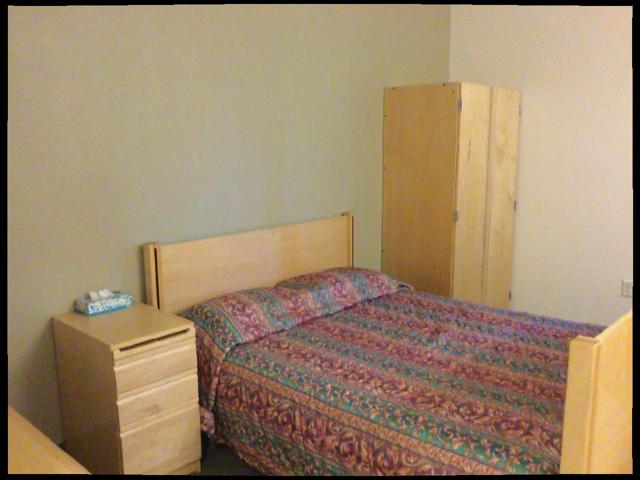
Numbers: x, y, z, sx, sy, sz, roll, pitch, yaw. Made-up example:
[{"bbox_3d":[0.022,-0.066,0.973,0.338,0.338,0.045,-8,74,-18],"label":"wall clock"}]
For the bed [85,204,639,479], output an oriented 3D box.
[{"bbox_3d":[0.399,0.541,2.710,2.338,1.022,1.898,10,16,42],"label":"bed"}]
